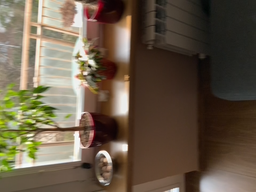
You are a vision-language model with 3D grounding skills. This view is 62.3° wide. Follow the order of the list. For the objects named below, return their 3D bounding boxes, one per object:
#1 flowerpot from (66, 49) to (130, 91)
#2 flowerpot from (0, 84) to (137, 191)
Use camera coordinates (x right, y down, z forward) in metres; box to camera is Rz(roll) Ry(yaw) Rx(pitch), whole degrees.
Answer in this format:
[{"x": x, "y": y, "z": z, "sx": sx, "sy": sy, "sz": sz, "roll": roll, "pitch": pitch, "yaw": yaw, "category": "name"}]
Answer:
[{"x": -0.160, "y": -0.130, "z": 1.150, "sx": 0.170, "sy": 0.280, "sz": 0.180, "roll": 8, "pitch": 93, "yaw": 52, "category": "flowerpot"}, {"x": -0.330, "y": 0.170, "z": 1.030, "sx": 0.220, "sy": 0.740, "sz": 0.390, "roll": 11, "pitch": 96, "yaw": 52, "category": "flowerpot"}]
